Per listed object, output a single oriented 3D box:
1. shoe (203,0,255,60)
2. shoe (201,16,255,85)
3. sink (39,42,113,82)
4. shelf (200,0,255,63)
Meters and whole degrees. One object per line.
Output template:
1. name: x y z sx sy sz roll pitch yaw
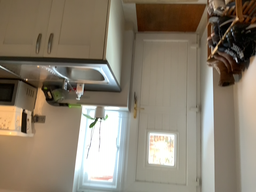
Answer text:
1. shoe: 0.880 -0.740 1.830 0.250 0.600 0.730 3 168 4
2. shoe: 0.830 -0.310 1.710 0.250 0.250 0.750 3 168 2
3. sink: -0.440 -0.300 1.960 0.520 0.190 0.480 3 168 6
4. shelf: 0.870 -0.750 1.790 0.280 0.670 0.790 3 168 3
